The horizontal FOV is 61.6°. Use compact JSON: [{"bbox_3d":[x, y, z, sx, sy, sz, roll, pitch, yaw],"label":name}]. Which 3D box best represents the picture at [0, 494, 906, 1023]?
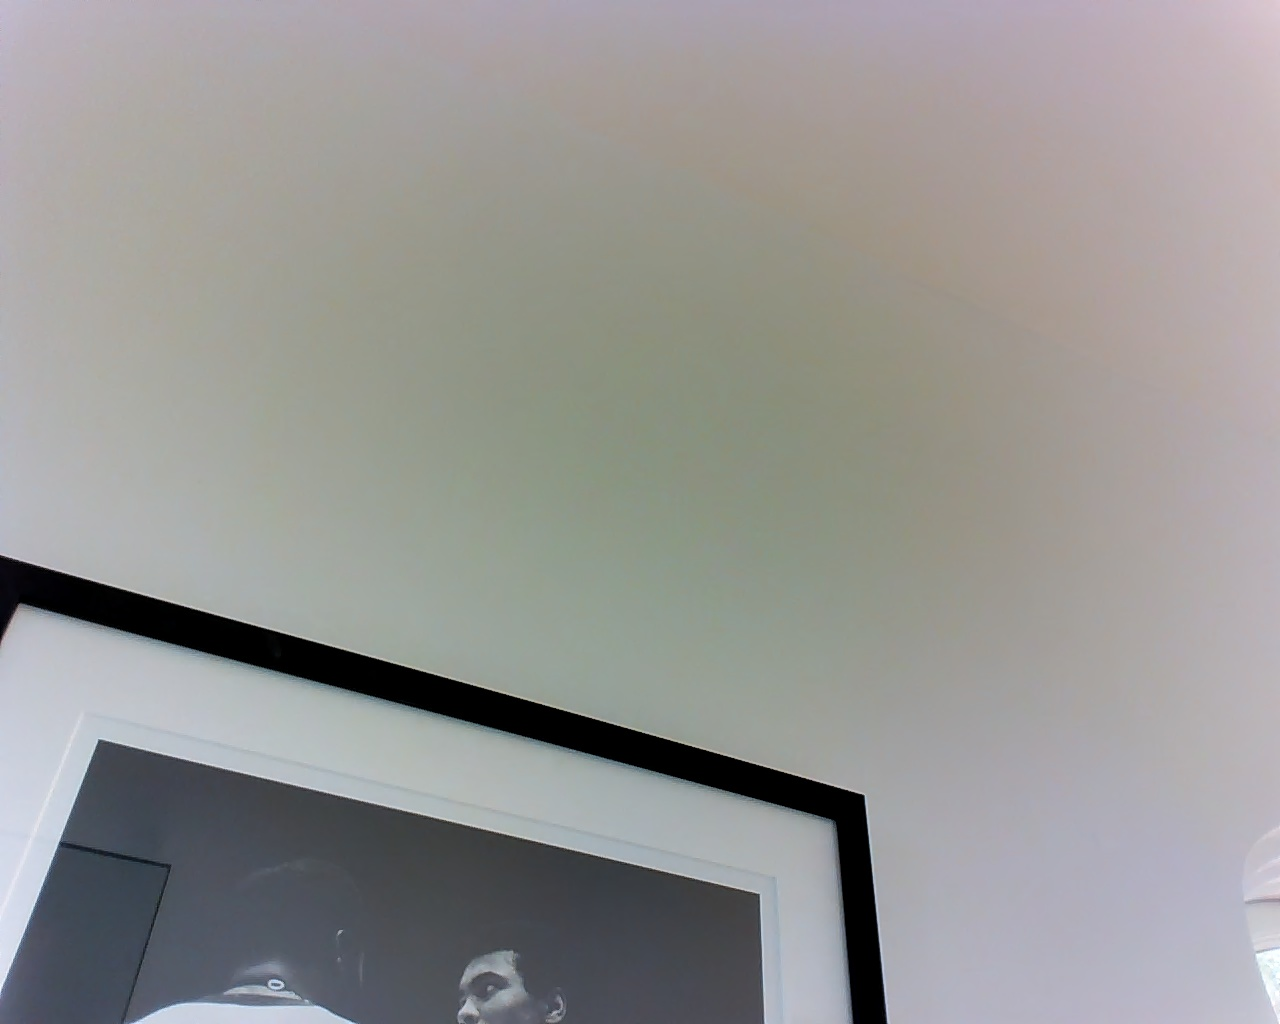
[{"bbox_3d":[-0.100,0.240,0.490,0.520,0.440,0.040,17,-44,-19],"label":"picture"}]
